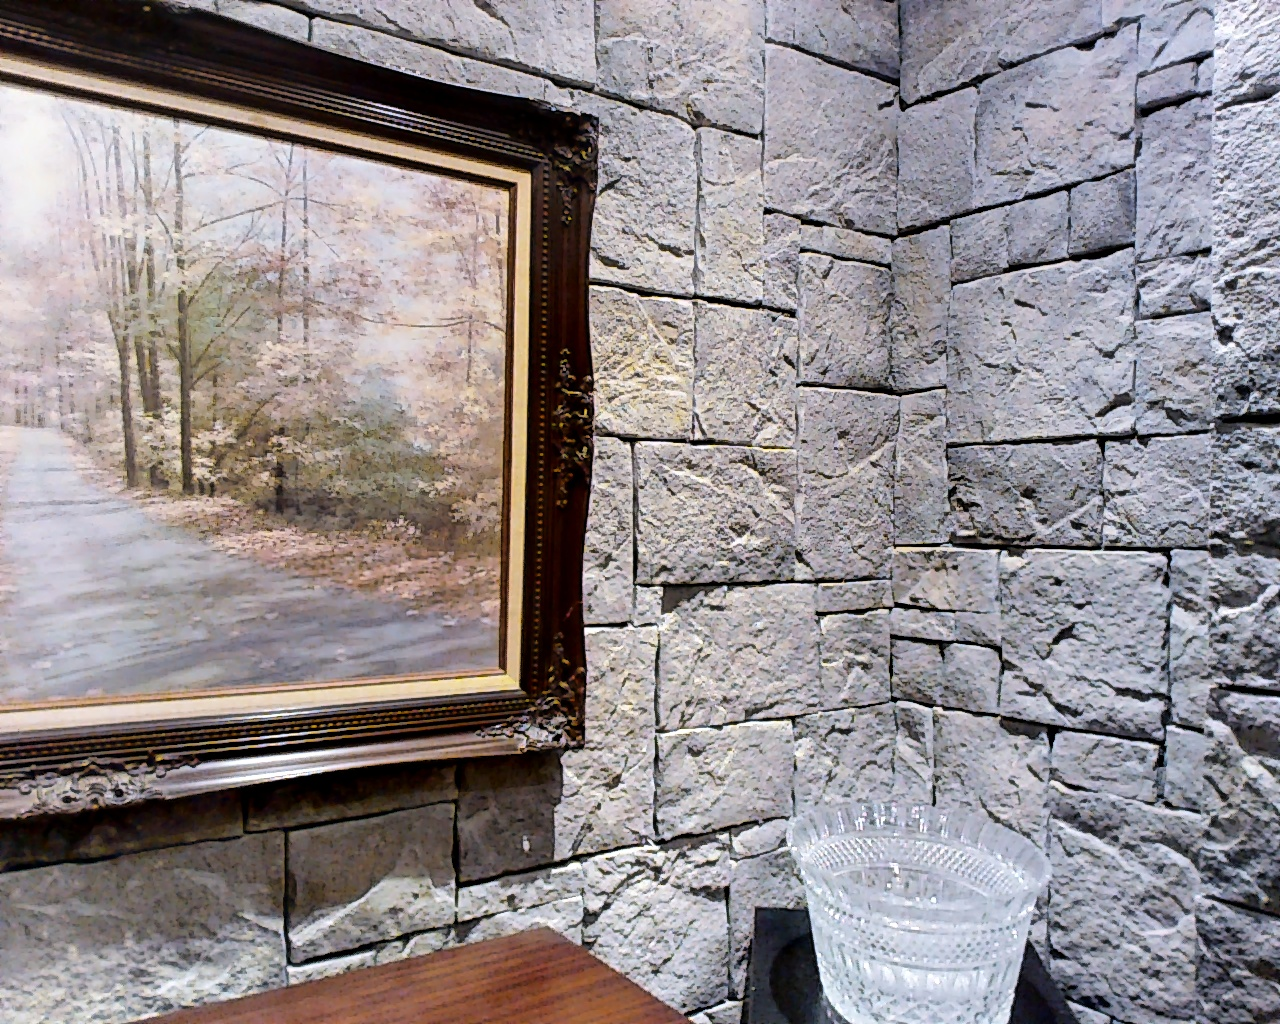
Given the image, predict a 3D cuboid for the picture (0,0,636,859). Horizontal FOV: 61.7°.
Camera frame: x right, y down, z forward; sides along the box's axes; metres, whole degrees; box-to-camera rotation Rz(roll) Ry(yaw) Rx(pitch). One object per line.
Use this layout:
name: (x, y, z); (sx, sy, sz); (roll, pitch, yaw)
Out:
picture: (-0.510, -0.110, 1.060); (1.160, 0.850, 0.080); (1, -1, -35)
